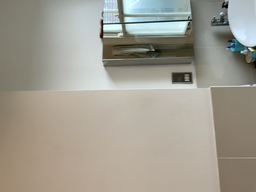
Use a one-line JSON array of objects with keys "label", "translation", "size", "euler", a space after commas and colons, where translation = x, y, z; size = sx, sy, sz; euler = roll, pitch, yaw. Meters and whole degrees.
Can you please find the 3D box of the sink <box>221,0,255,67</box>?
[{"label": "sink", "translation": [0.820, -0.590, 1.420], "size": [0.490, 0.160, 0.640], "euler": [77, -167, -74]}]
